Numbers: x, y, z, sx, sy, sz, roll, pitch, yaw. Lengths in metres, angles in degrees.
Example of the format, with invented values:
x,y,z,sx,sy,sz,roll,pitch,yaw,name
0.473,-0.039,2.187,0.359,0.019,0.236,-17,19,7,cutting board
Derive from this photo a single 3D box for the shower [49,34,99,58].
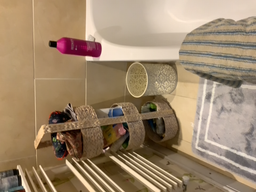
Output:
x,y,z,sx,sy,sz,roll,pitch,yaw,name
-0.290,-0.260,1.140,0.180,0.210,0.100,11,102,54,shower
